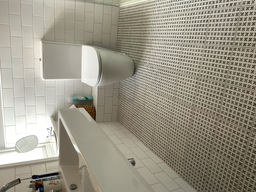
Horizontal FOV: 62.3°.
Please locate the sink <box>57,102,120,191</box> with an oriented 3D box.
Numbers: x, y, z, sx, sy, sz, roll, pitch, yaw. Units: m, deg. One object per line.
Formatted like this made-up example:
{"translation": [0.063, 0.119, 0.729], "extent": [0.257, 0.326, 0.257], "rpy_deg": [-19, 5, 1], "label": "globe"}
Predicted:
{"translation": [-0.250, 0.360, 1.140], "extent": [0.560, 0.160, 0.510], "rpy_deg": [29, 118, 58], "label": "sink"}
